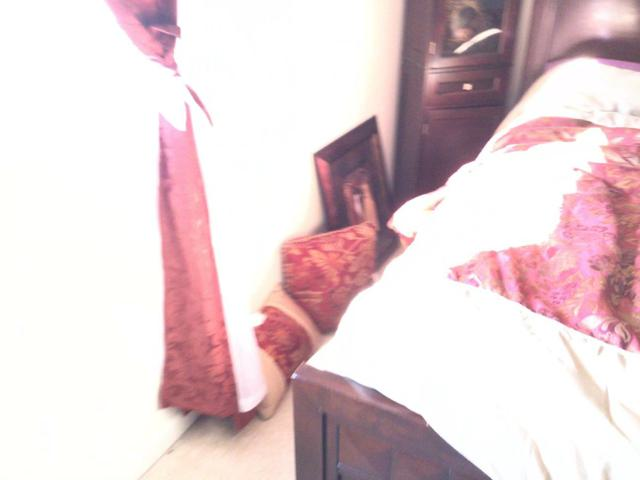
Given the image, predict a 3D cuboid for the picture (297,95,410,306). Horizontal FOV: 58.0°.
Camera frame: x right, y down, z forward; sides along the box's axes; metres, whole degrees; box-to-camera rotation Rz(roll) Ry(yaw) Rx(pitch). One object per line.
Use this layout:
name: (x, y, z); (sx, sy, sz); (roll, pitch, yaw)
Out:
picture: (0.170, -0.190, 2.460); (0.210, 0.690, 0.610); (12, 32, 26)
